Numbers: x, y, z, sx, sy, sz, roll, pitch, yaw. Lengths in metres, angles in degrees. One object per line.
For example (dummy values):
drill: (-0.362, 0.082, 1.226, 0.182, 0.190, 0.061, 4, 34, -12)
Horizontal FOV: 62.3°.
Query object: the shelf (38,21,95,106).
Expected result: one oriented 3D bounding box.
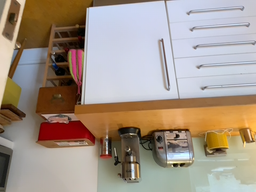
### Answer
shelf: (-0.480, -0.270, 1.770, 0.340, 0.620, 0.280, -4, 155, 3)
